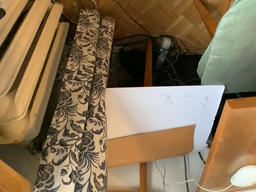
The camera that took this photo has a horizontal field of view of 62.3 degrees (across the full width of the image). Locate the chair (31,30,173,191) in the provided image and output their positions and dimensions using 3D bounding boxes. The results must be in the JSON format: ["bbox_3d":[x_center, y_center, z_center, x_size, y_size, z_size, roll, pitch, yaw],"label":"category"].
[{"bbox_3d":[-0.060,0.100,0.980,0.400,0.770,0.390,-5,139,5],"label":"chair"}]
